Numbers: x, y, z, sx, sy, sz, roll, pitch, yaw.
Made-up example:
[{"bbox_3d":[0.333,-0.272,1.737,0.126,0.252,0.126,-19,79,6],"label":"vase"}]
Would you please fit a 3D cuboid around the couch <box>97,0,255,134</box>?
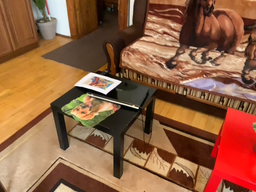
[{"bbox_3d":[0.890,-0.460,2.110,2.170,0.980,0.950,18,39,21],"label":"couch"}]
